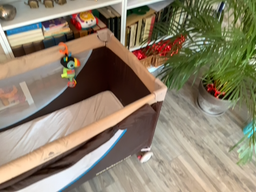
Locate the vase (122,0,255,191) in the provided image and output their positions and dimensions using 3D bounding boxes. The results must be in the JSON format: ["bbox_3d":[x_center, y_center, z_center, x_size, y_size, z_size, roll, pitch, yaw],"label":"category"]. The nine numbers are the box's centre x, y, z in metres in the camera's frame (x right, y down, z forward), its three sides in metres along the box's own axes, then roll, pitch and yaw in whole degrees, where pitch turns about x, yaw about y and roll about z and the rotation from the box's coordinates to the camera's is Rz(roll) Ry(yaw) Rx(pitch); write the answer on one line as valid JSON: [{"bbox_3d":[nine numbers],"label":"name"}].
[{"bbox_3d":[0.820,-0.200,1.690,1.230,1.050,1.260,-22,55,-22],"label":"vase"}]

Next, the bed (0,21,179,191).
[{"bbox_3d":[-0.500,0.250,1.340,1.330,0.850,0.700,-27,57,-25],"label":"bed"}]
